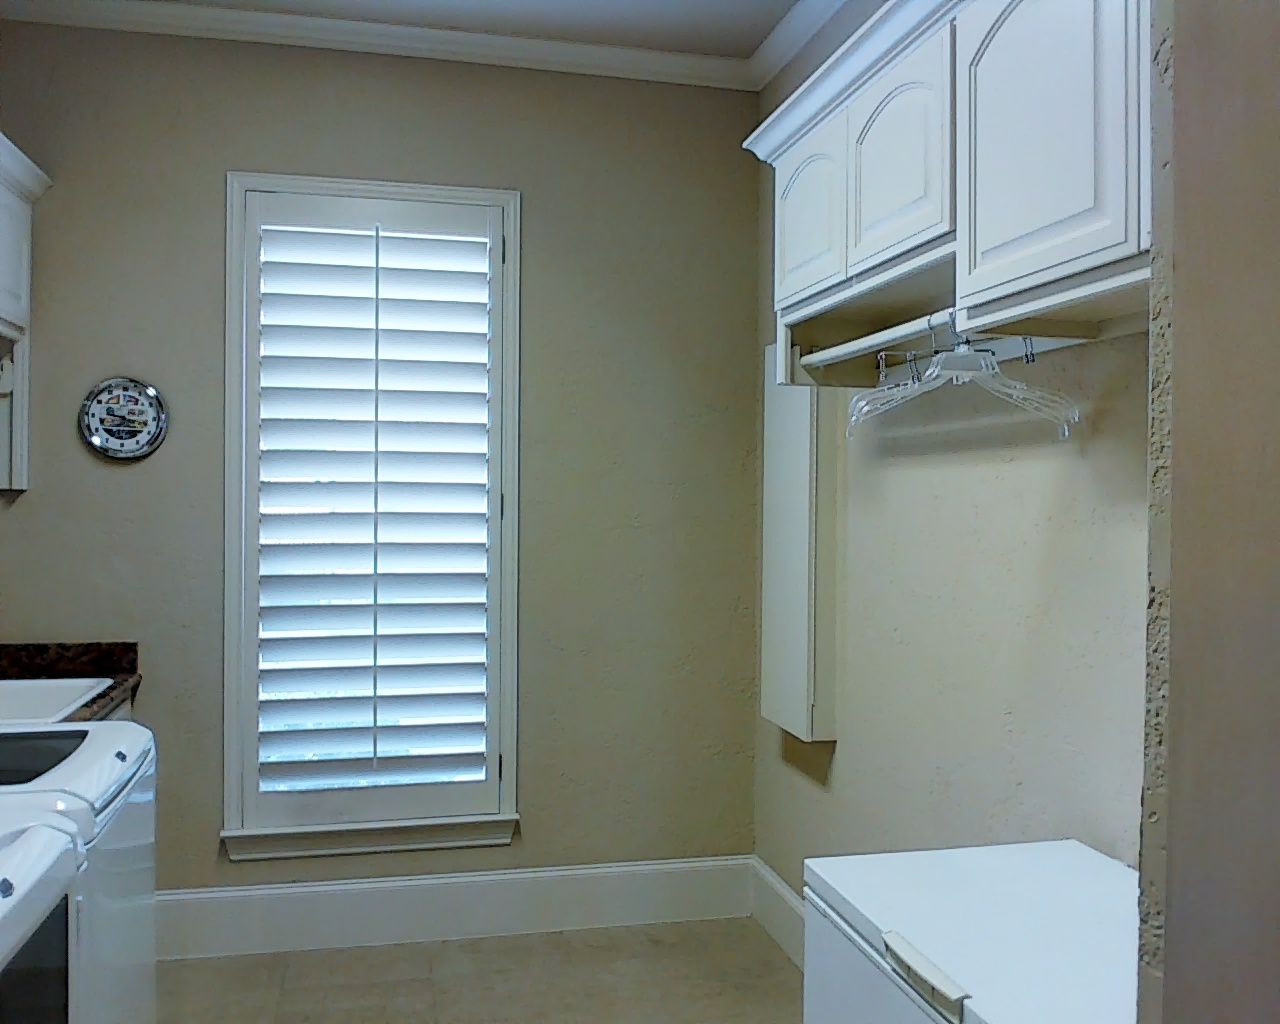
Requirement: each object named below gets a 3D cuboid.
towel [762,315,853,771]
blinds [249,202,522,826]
[{"bbox_3d":[0.520,0.090,3.400,0.110,1.340,0.460,1,0,-13],"label":"towel"},{"bbox_3d":[-0.840,0.010,3.600,0.860,2.011,0.090,1,0,-12],"label":"blinds"}]
